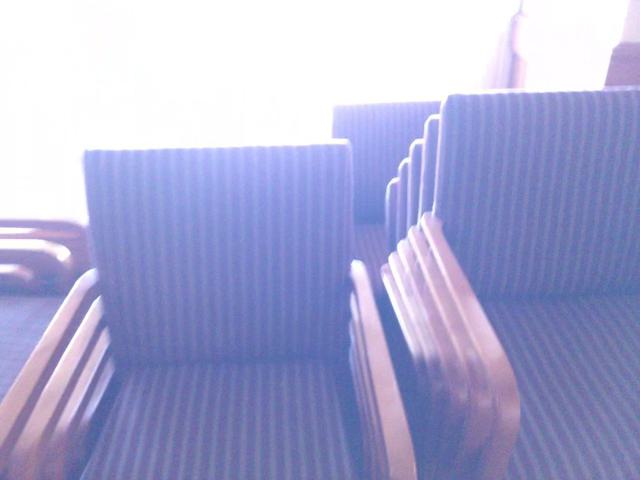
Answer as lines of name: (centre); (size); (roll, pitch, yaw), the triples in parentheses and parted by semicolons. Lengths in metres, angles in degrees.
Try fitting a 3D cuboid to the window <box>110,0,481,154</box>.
window: (-0.080, -0.680, 2.110); (1.190, 0.610, 0.410); (-2, 23, -4)
